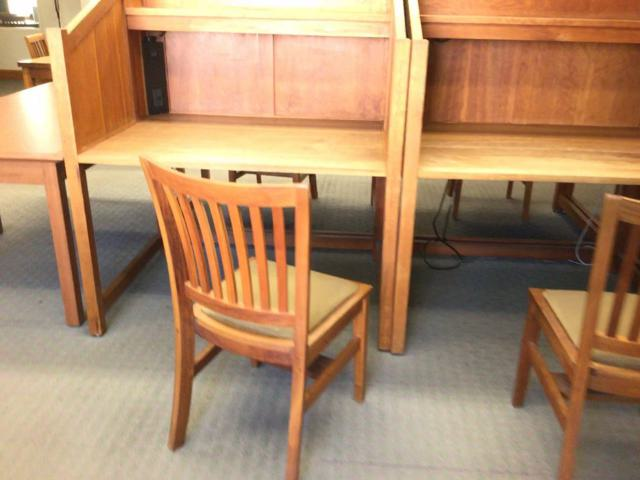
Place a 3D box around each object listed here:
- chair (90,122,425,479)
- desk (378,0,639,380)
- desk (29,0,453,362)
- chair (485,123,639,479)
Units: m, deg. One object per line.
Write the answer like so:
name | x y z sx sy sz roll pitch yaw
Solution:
chair | -0.150 0.180 1.770 0.670 0.900 0.660 13 25 25
desk | 0.970 -0.340 2.410 1.350 1.390 1.070 4 22 4
desk | -0.240 -0.420 2.540 1.360 1.400 1.080 4 22 4
chair | 0.860 0.220 1.600 0.560 0.950 0.580 4 22 4
